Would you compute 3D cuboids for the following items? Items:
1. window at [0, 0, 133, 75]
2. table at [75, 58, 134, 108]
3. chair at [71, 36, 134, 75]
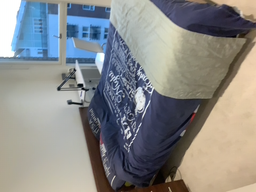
[{"bbox_3d":[-1.150,-0.930,3.400,0.200,2.290,1.280,-115,30,-43],"label":"window"},{"bbox_3d":[-0.440,-0.250,3.560,0.810,0.770,0.410,-116,31,-44],"label":"table"},{"bbox_3d":[-0.420,-0.630,3.330,0.380,0.870,0.460,-118,33,-47],"label":"chair"}]
